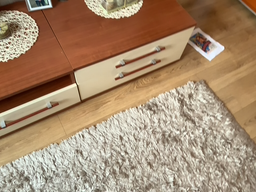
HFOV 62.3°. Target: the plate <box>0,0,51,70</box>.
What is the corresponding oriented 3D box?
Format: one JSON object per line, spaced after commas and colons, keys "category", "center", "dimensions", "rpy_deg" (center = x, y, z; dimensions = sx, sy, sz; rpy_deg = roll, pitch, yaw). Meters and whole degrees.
{"category": "plate", "center": [-0.670, -0.340, 1.120], "dimensions": [0.340, 0.040, 0.420], "rpy_deg": [-33, 69, -22]}
